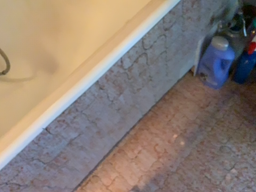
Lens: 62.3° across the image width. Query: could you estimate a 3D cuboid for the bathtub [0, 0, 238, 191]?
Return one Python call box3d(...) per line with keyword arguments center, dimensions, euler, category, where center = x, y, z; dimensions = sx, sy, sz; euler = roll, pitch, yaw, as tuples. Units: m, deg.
box3d(center=(-0.250, -0.130, 0.860), dimensions=(0.660, 0.590, 1.390), euler=(39, 78, 24), category="bathtub")
